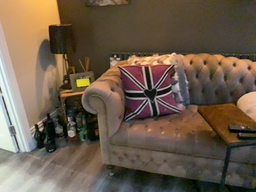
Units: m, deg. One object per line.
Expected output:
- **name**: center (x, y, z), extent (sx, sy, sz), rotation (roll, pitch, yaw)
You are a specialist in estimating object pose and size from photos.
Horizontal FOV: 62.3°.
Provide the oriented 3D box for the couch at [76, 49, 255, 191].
- **couch**: center (0.560, 0.150, 1.800), extent (1.590, 0.860, 0.940), rotation (5, 26, 15)
